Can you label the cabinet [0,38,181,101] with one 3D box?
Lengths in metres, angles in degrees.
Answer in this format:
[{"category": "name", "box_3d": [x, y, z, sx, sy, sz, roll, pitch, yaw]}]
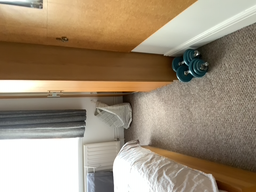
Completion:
[{"category": "cabinet", "box_3d": [-0.790, -0.160, 2.210, 1.520, 2.100, 0.320, 168, 102, -68]}]
